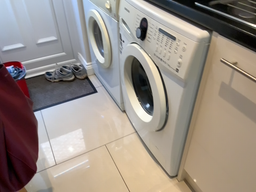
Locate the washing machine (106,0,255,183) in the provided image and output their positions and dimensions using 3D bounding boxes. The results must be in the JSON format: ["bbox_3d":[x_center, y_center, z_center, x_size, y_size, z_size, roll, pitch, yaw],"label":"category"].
[{"bbox_3d":[0.330,-0.130,1.230,0.660,0.860,0.640,-20,44,-22],"label":"washing machine"}]
